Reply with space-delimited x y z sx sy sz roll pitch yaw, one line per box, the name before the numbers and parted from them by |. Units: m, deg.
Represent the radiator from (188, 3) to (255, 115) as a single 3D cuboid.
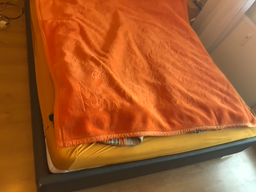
radiator | 1.090 -0.380 2.210 0.130 0.700 0.900 -6 56 -30
